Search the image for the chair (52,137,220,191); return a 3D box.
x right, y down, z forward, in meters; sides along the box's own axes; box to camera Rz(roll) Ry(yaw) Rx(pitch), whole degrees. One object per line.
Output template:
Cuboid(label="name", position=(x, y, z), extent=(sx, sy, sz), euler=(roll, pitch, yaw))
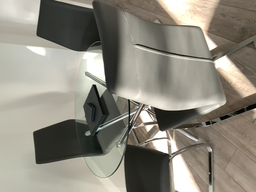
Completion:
Cuboid(label="chair", position=(0.080, 0.620, 1.410), extent=(0.470, 1.020, 0.520), euler=(-5, 86, 58))
